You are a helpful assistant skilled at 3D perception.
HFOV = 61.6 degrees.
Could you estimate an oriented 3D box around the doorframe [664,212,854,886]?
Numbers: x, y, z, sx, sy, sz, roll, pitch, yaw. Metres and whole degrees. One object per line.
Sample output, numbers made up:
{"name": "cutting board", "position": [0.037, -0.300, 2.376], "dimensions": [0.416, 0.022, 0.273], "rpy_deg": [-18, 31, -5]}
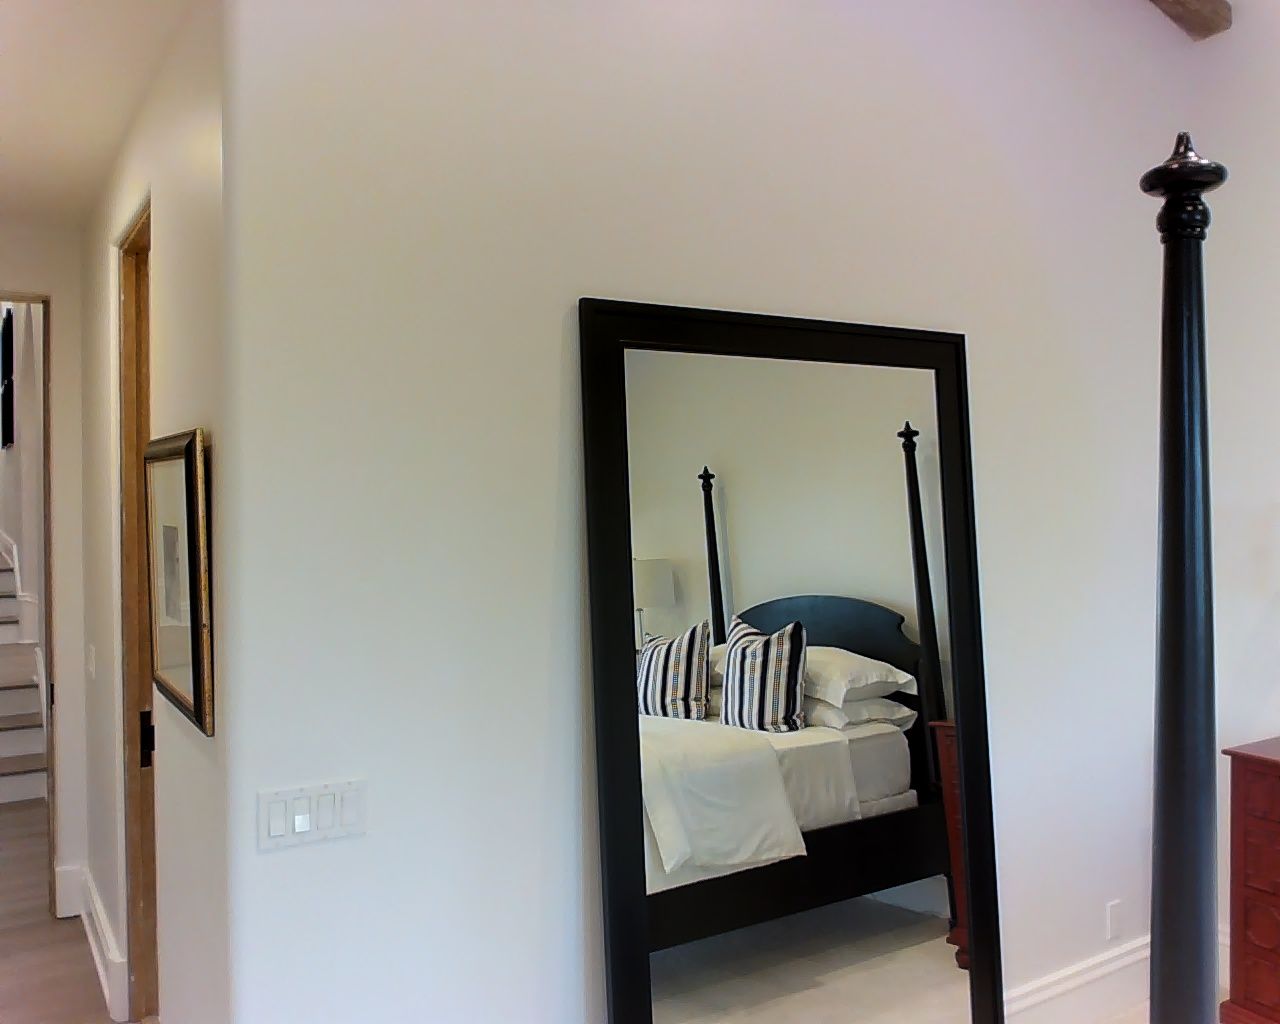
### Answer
{"name": "doorframe", "position": [0.500, 0.150, 4.820], "dimensions": [0.230, 2.701, 1.080], "rpy_deg": [0, -1, -32]}
